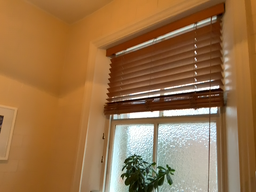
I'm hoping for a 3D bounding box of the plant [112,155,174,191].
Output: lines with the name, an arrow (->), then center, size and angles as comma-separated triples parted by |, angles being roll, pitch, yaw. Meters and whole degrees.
plant -> 0.080, 0.580, 1.260 | 0.330, 0.420, 0.170 | -8, -19, 40
